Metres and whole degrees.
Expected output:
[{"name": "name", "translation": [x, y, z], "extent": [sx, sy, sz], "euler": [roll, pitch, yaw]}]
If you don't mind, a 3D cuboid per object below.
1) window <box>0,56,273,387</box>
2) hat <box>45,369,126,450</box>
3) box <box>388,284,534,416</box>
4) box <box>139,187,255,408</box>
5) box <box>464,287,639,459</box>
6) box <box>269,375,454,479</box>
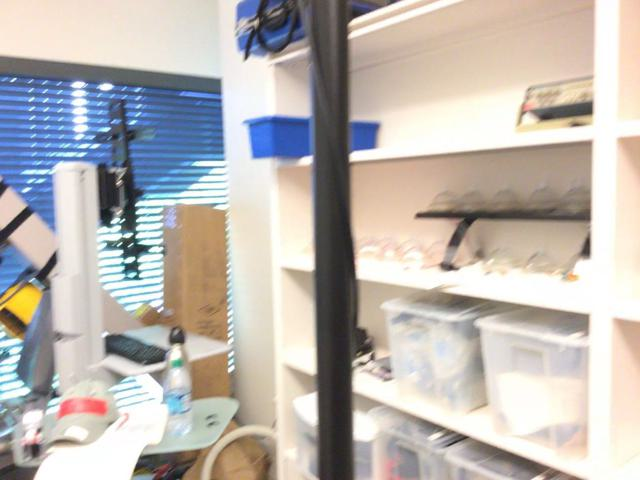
[{"name": "window", "translation": [-1.400, -0.090, 2.890], "extent": [2.410, 1.490, 0.410], "euler": [-3, 1, -36]}, {"name": "hat", "translation": [-0.640, 0.460, 1.600], "extent": [0.170, 0.140, 0.230], "euler": [-2, 1, -13]}, {"name": "box", "translation": [0.410, 0.300, 1.690], "extent": [0.300, 0.300, 0.280], "euler": [-3, 1, -36]}, {"name": "box", "translation": [-0.620, 0.260, 2.920], "extent": [0.440, 1.020, 0.330], "euler": [-3, 1, -36]}, {"name": "box", "translation": [0.590, 0.300, 1.440], "extent": [0.300, 0.320, 0.320], "euler": [-3, 1, -36]}, {"name": "box", "translation": [0.130, 0.750, 1.970], "extent": [0.390, 0.420, 0.500], "euler": [-3, 1, -36]}]
